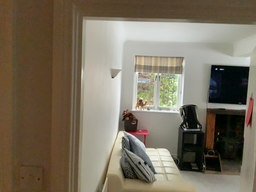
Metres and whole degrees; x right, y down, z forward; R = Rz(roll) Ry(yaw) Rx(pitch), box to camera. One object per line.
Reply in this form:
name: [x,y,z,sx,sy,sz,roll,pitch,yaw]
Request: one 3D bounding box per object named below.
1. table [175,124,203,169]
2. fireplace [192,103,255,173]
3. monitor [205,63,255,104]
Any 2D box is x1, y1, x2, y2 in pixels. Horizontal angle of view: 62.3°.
table: [1.220,1.000,4.290,0.400,0.750,0.450,3,5,2]
fireplace: [2.230,0.820,4.480,1.380,1.170,1.070,3,5,3]
monitor: [2.250,-0.250,4.340,1.270,0.790,0.060,3,5,2]
